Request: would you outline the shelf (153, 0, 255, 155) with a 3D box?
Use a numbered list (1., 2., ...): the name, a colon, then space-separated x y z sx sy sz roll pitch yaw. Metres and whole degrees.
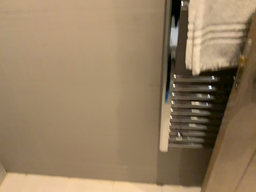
1. shelf: 0.300 -0.220 0.690 0.400 1.280 0.060 1 40 5
